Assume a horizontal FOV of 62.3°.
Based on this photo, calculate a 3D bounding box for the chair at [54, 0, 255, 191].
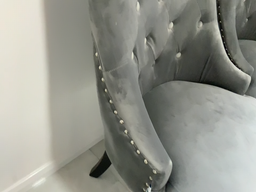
[{"bbox_3d":[0.210,0.020,0.710,0.650,0.920,0.550,36,48,26],"label":"chair"}]
